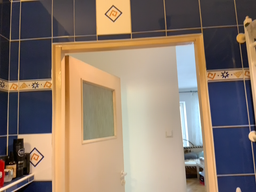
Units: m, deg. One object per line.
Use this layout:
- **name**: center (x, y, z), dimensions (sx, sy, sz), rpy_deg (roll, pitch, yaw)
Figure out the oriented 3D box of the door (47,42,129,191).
- **door**: center (-0.220, 0.760, 1.650), dimensions (0.100, 2.070, 1.060), rpy_deg (-5, -7, 19)
